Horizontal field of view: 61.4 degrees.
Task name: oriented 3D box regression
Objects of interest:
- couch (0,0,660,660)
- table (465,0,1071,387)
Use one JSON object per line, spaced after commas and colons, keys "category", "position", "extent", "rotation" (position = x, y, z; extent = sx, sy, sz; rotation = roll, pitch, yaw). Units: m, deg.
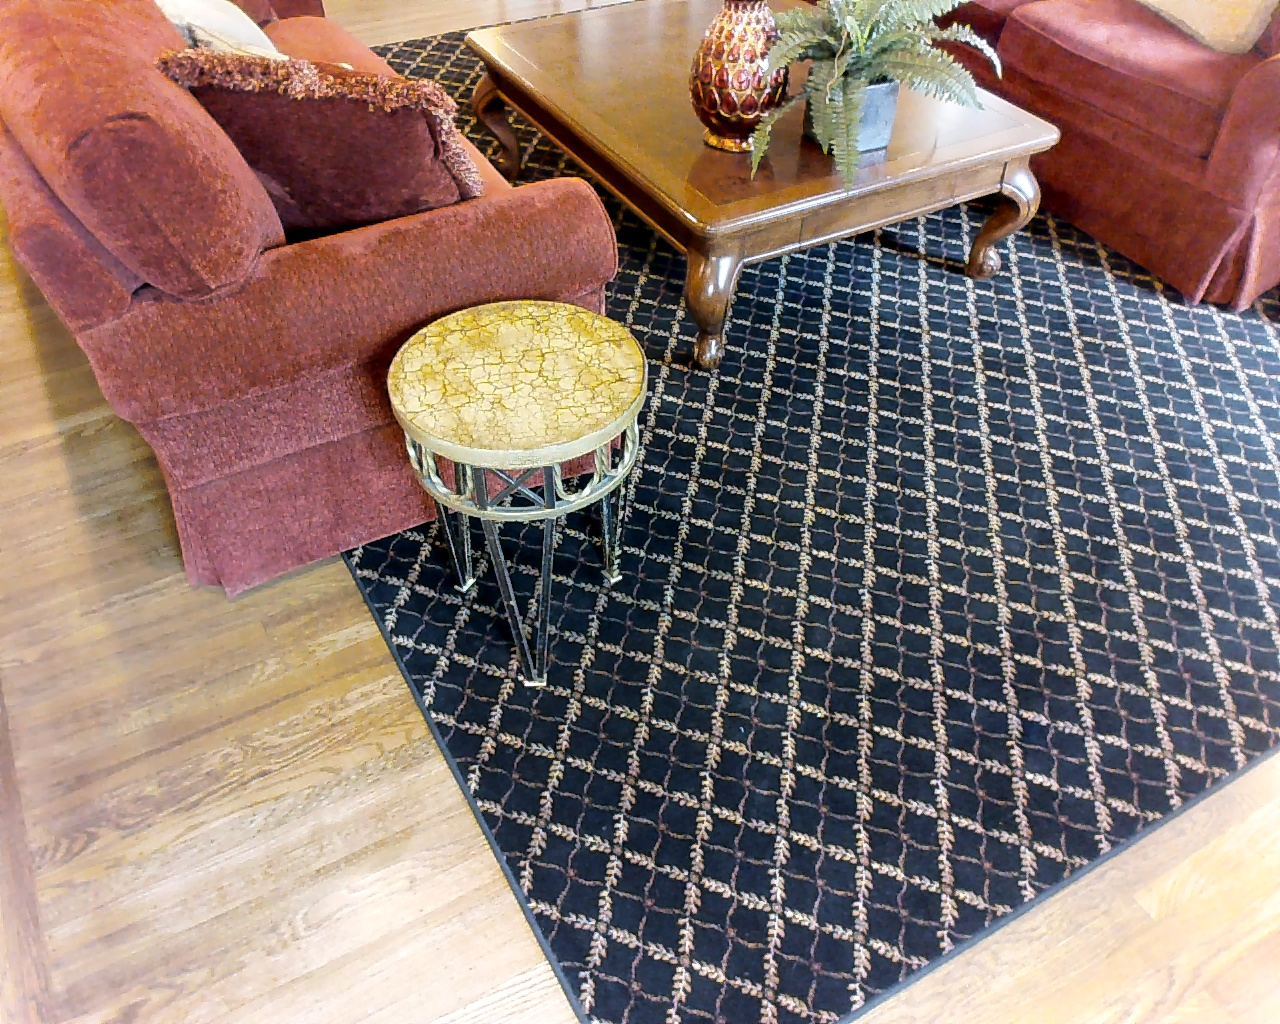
{"category": "couch", "position": [-0.950, -0.890, 2.510], "extent": [1.080, 1.010, 2.080], "rotation": [-21, 46, -21]}
{"category": "table", "position": [0.280, -1.030, 3.070], "extent": [1.070, 0.430, 1.340], "rotation": [-21, 46, -21]}
